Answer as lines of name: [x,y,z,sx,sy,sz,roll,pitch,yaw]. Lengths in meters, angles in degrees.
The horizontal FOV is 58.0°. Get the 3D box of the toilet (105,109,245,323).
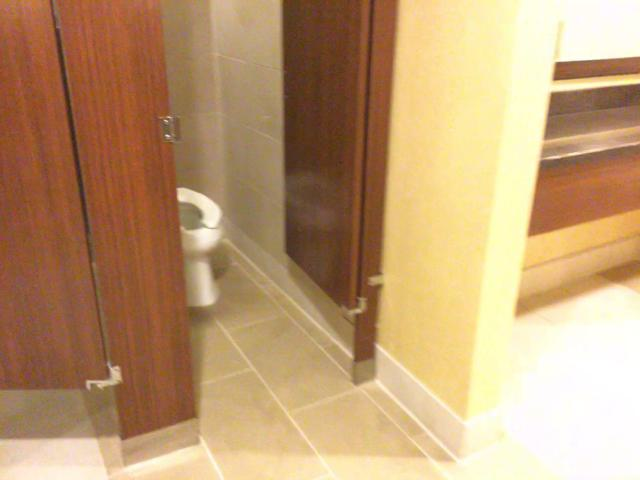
toilet: [-0.700,-0.160,2.760,0.390,0.770,0.770,-11,25,-27]
